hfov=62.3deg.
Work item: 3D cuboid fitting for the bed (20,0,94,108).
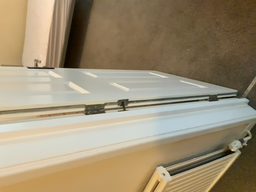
[{"bbox_3d":[-1.280,-1.110,3.490,1.500,0.560,2.090,49,130,40],"label":"bed"}]
